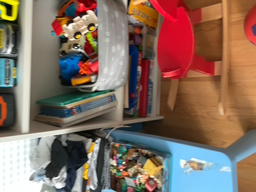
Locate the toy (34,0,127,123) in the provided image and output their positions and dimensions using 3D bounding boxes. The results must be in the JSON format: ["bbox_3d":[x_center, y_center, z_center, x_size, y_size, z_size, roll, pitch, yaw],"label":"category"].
[{"bbox_3d":[-0.220,-0.230,0.980,0.300,0.280,0.640,5,94,41],"label":"toy"}]

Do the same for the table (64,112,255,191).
[{"bbox_3d":[0.140,0.420,1.030,0.850,0.480,0.560,5,94,41],"label":"table"}]
